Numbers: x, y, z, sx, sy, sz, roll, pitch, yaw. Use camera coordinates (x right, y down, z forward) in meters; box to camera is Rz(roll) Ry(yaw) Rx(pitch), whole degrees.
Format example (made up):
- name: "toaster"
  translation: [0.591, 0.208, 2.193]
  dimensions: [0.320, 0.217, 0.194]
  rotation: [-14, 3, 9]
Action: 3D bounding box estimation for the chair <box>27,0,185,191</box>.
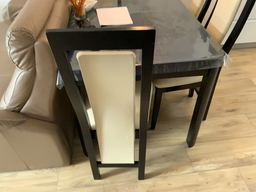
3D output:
- name: "chair"
  translation: [-0.070, 0.040, 1.160]
  dimensions: [0.470, 1.050, 0.470]
  rotation: [-2, 42, -2]
